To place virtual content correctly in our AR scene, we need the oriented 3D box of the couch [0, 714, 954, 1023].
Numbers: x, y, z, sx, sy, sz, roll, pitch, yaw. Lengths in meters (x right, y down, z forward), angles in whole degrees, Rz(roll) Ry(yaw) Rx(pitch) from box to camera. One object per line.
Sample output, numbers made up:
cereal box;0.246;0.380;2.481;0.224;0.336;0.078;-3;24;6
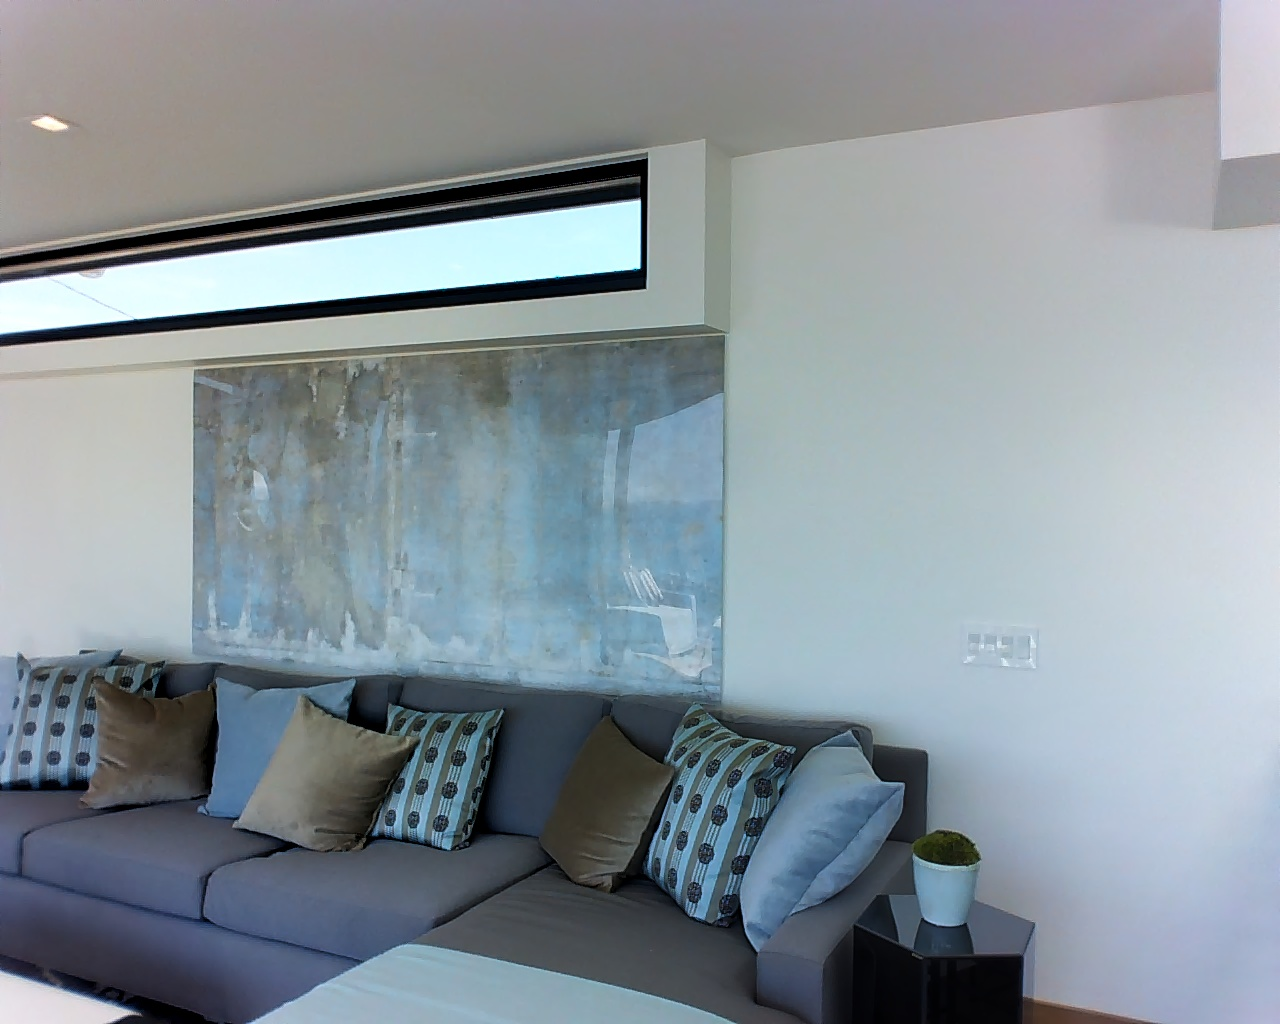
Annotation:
couch;-1.210;1.240;3.170;3.820;0.620;1.890;1;0;26
